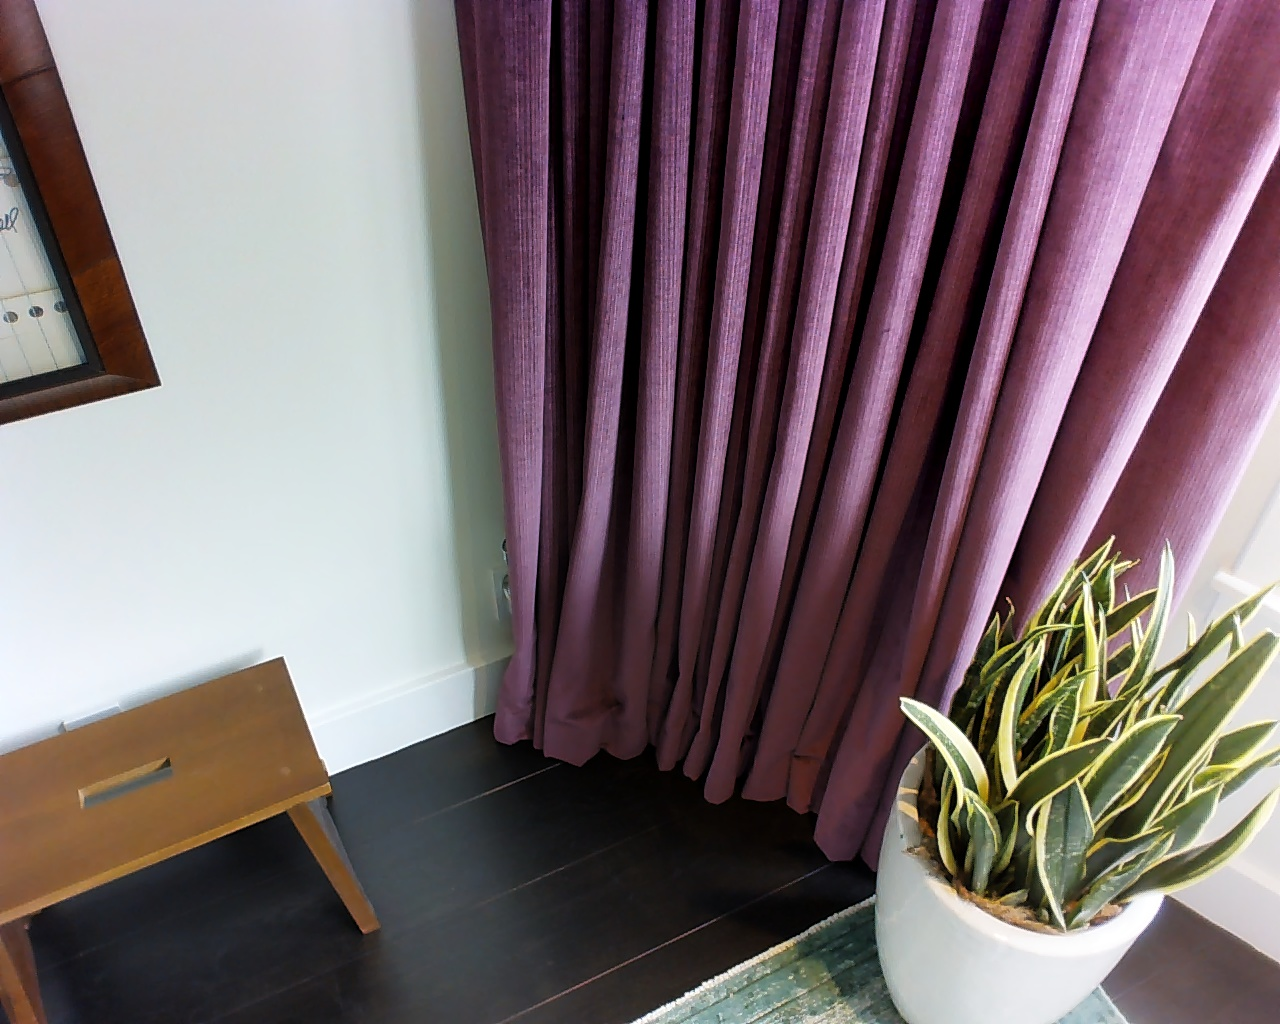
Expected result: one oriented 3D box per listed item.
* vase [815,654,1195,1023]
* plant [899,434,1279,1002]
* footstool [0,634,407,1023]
[{"bbox_3d":[0.450,0.510,1.390,0.340,0.470,0.350,15,45,16],"label":"vase"},{"bbox_3d":[0.520,0.210,1.130,0.380,0.400,0.330,13,44,14],"label":"plant"},{"bbox_3d":[-0.680,0.500,1.510,0.570,0.360,0.330,-19,46,-19],"label":"footstool"}]
